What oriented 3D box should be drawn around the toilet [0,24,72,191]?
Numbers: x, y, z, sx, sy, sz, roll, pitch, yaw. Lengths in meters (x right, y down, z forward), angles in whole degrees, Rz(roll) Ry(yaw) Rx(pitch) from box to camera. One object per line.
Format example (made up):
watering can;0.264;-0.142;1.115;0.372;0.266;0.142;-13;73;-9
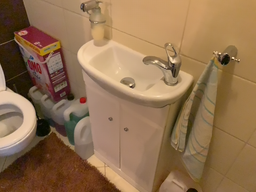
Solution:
toilet;-0.720;0.070;1.170;0.560;0.760;0.430;31;49;27
